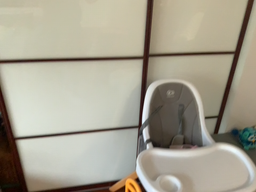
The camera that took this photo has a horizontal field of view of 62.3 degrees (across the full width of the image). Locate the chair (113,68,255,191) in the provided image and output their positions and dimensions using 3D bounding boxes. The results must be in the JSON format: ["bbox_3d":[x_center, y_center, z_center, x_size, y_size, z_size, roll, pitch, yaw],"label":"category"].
[{"bbox_3d":[0.250,0.430,1.250,0.550,0.960,0.760,-5,28,-13],"label":"chair"}]
